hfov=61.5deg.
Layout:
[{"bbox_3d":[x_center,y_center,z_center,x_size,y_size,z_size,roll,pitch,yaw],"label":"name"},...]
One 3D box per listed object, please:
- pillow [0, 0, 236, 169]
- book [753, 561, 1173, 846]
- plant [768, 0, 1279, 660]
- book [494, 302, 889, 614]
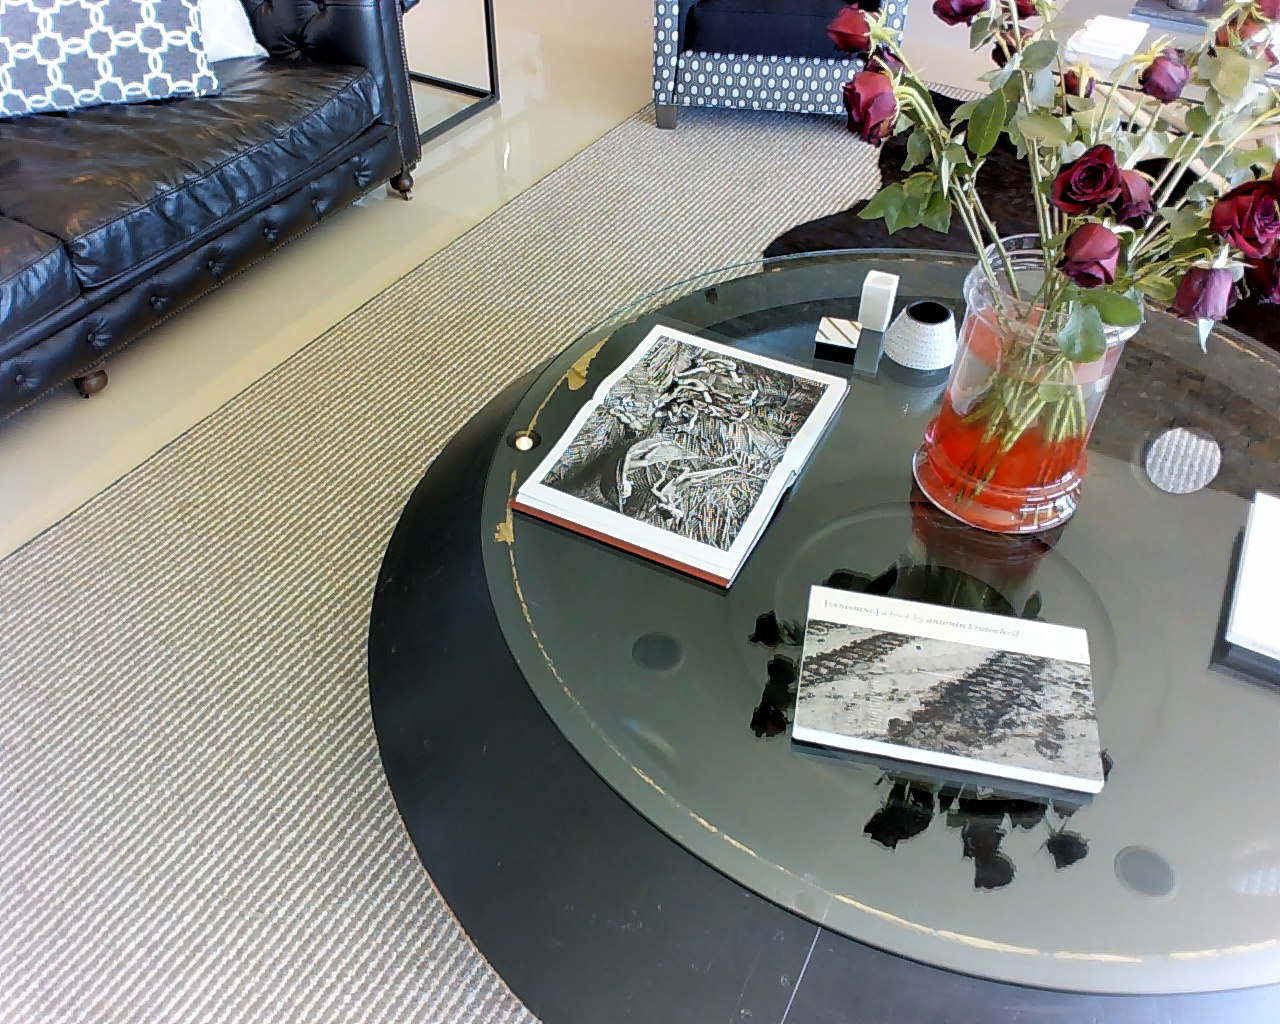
[{"bbox_3d":[-1.420,-1.200,2.730,0.650,0.420,0.190,16,10,-23],"label":"pillow"},{"bbox_3d":[0.400,0.230,1.380,0.470,0.070,0.310,8,43,8],"label":"book"},{"bbox_3d":[0.570,-0.320,1.520,0.530,0.760,0.540,21,46,20],"label":"plant"},{"bbox_3d":[0.100,-0.120,1.730,0.410,0.080,0.560,22,46,21],"label":"book"}]
